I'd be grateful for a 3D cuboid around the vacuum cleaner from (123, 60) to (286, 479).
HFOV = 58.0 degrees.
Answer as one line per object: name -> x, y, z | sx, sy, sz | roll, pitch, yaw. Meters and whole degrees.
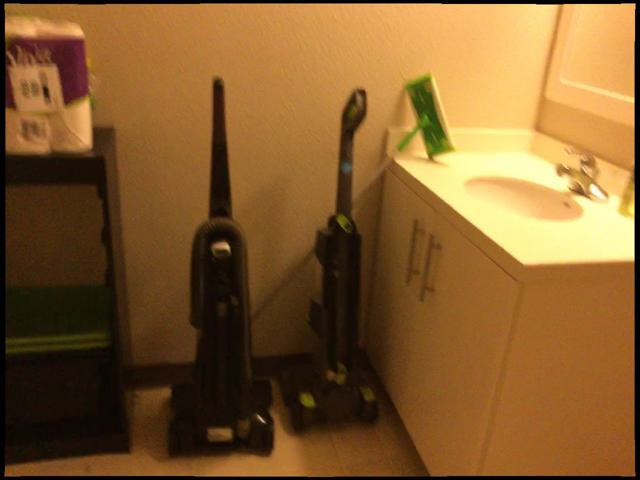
vacuum cleaner -> -0.329, 0.110, 1.670 | 0.349, 1.152, 0.370 | -3, 27, -14
